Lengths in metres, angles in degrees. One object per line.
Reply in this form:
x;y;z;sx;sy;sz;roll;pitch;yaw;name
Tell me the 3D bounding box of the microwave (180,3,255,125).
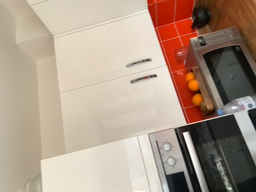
0.560;-0.170;1.280;0.370;0.300;0.560;67;-171;-68;microwave
